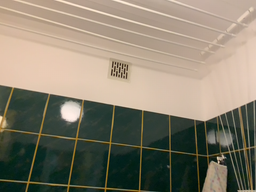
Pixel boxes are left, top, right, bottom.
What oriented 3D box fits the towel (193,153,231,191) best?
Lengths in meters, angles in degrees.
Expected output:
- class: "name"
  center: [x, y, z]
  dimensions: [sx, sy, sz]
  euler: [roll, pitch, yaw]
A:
- class: "towel"
  center: [0.510, 0.560, 1.290]
  dimensions: [0.190, 0.380, 0.200]
  euler: [-4, -25, 19]
